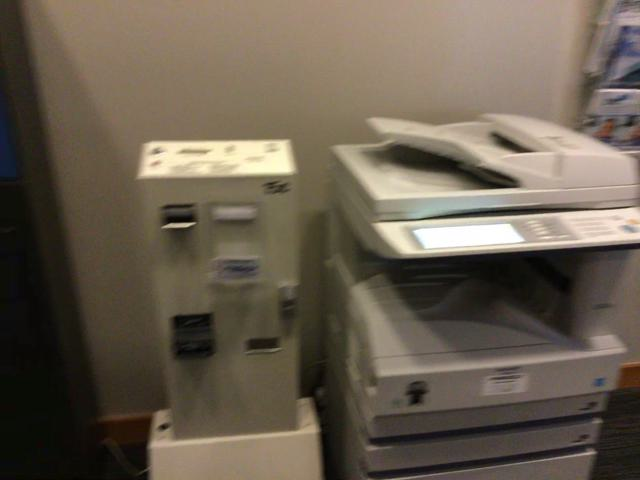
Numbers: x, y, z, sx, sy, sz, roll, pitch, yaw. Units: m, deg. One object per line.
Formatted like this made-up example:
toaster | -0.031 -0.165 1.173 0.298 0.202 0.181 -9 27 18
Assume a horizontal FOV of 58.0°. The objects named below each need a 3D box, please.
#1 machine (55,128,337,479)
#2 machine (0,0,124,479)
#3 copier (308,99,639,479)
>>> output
machine | -0.230 0.320 1.360 0.470 1.070 0.350 -5 23 -10
machine | -0.780 0.080 1.390 0.350 1.430 0.300 -5 23 -9
copier | 0.350 0.250 1.510 0.640 1.090 0.610 -5 23 -9
